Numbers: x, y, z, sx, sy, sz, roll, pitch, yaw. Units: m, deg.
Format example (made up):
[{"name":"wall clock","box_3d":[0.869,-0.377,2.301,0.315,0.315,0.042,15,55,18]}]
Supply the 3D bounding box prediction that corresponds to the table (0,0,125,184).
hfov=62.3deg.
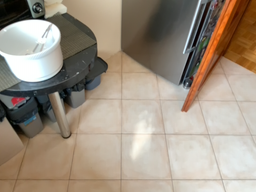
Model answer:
[{"name":"table","box_3d":[-0.430,-0.030,1.200,0.630,0.750,0.500,38,58,24]}]
